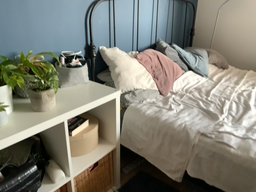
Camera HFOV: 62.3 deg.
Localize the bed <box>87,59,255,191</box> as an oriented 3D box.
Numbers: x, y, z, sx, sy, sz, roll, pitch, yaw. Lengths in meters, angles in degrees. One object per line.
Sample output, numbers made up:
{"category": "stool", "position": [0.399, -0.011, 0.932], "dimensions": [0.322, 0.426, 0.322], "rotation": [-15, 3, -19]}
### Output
{"category": "bed", "position": [1.000, 0.280, 1.720], "dimensions": [2.070, 0.580, 1.640], "rotation": [18, 28, 35]}
